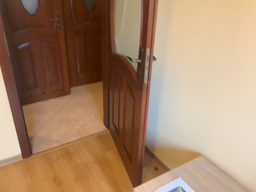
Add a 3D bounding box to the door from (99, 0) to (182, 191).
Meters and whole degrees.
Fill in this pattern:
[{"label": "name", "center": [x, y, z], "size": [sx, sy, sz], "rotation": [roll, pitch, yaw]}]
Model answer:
[{"label": "door", "center": [0.000, -0.390, 1.610], "size": [0.240, 2.070, 0.940], "rotation": [-7, 29, -17]}]
